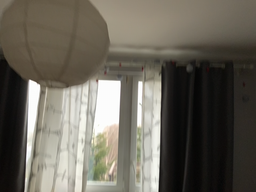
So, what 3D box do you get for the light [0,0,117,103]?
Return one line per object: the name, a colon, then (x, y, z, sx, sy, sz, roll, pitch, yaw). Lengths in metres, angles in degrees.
light: (-0.290, -0.440, 0.940, 0.500, 0.460, 0.860, 106, 167, -80)
